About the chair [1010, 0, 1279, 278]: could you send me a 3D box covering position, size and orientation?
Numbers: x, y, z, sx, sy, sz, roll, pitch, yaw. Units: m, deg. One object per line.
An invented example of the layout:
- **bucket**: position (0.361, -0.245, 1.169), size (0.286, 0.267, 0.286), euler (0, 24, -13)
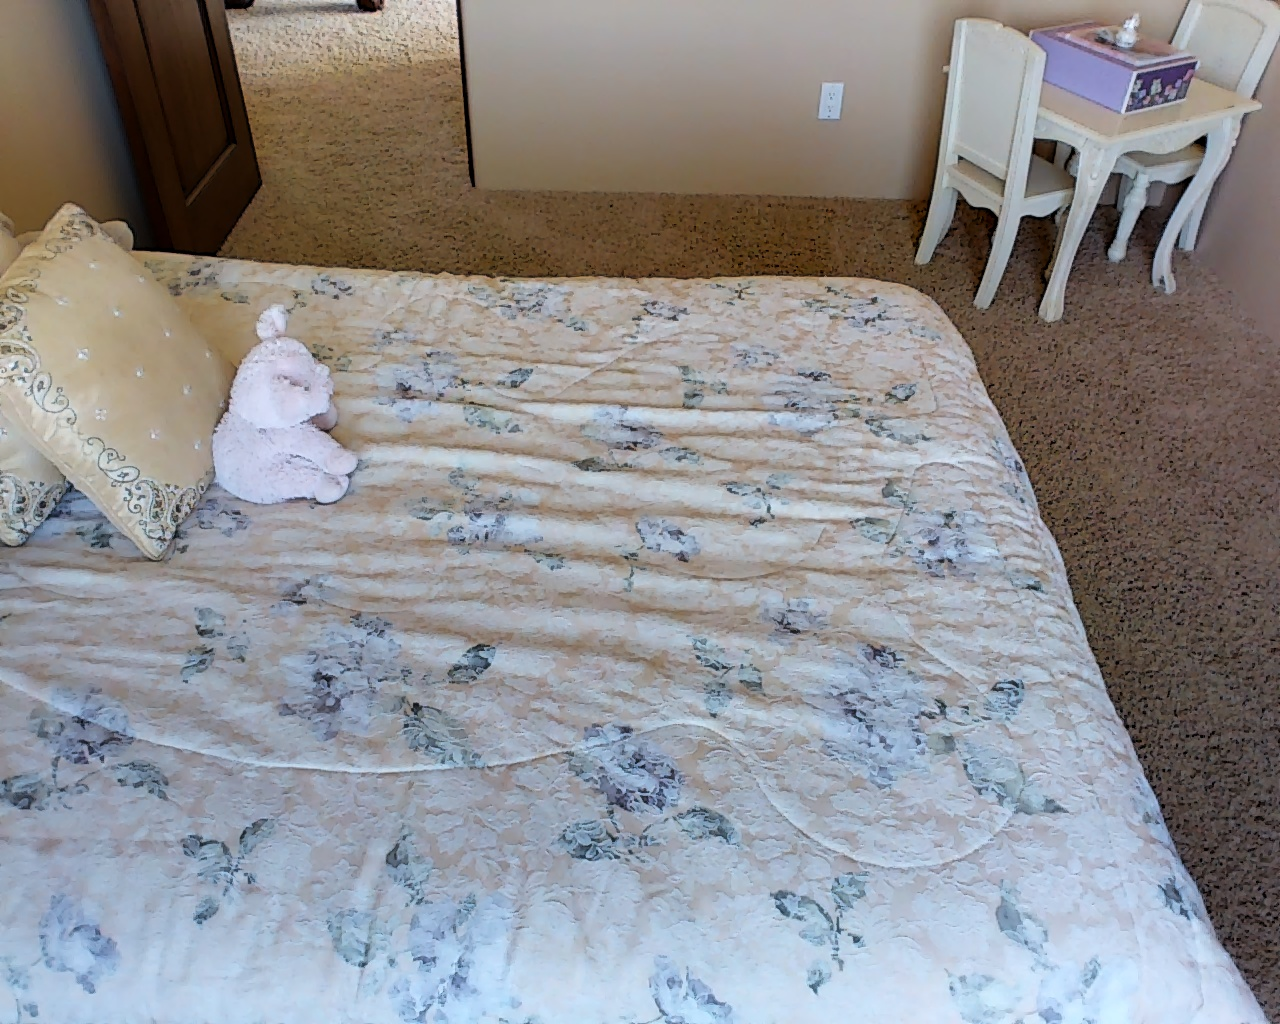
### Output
- **chair**: position (1.561, -1.190, 3.190), size (0.410, 0.690, 0.630), euler (-18, 44, -21)

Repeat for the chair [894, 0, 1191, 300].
- **chair**: position (1.090, -1.060, 3.020), size (0.440, 0.710, 0.460), euler (-14, 43, -17)
